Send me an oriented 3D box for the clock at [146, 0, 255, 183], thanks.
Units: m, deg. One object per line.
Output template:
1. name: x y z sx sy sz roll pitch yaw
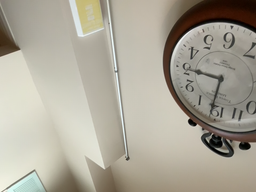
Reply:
1. clock: 0.390 0.010 0.760 0.670 0.630 0.110 20 -138 34
